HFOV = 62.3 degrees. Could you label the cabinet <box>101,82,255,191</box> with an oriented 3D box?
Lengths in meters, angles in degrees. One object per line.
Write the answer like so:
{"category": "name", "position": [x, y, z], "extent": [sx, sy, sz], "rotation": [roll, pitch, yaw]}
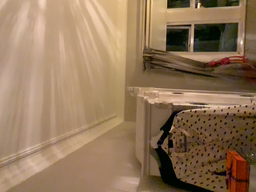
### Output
{"category": "cabinet", "position": [1.180, 0.300, 2.540], "extent": [2.640, 2.190, 0.740], "rotation": [-2, -85, -77]}
